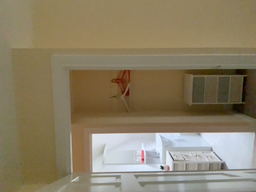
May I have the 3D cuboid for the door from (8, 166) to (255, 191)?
[{"bbox_3d":[0.580,0.410,1.070,0.790,1.930,0.050,98,171,-75],"label":"door"}]

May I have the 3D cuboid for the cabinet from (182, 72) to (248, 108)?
[{"bbox_3d":[1.150,-0.090,2.880,0.340,0.740,0.440,-105,15,-81],"label":"cabinet"}]
